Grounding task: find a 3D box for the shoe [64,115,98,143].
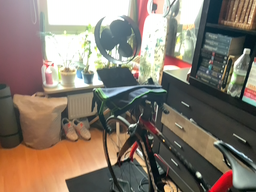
[{"bbox_3d":[-0.530,0.360,2.380,0.300,0.140,0.250,-11,29,-31],"label":"shoe"}]
